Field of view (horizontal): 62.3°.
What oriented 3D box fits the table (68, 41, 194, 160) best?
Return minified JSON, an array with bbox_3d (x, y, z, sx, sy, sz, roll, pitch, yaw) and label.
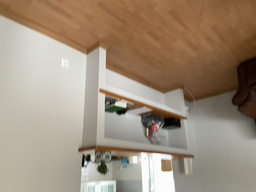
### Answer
[{"bbox_3d":[0.170,0.220,2.820,0.430,1.140,1.840,-19,154,40],"label":"table"}]
